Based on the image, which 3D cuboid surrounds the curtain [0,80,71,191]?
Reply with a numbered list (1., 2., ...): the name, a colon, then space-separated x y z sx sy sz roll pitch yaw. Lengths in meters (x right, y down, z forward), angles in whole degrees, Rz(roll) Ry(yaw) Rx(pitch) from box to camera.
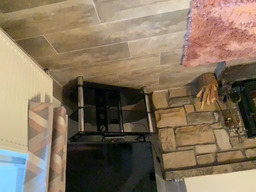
1. curtain: -0.490 0.910 1.140 0.270 2.010 0.370 -7 159 0
